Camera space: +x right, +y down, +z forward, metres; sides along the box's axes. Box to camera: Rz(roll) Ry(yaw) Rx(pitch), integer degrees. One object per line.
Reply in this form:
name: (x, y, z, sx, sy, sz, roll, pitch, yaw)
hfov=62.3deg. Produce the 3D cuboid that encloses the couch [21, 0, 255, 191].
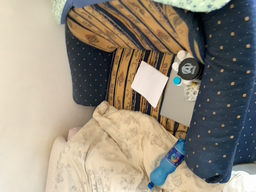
couch: (0.080, -0.230, 1.370, 1.450, 0.990, 1.000, 22, 104, 49)
